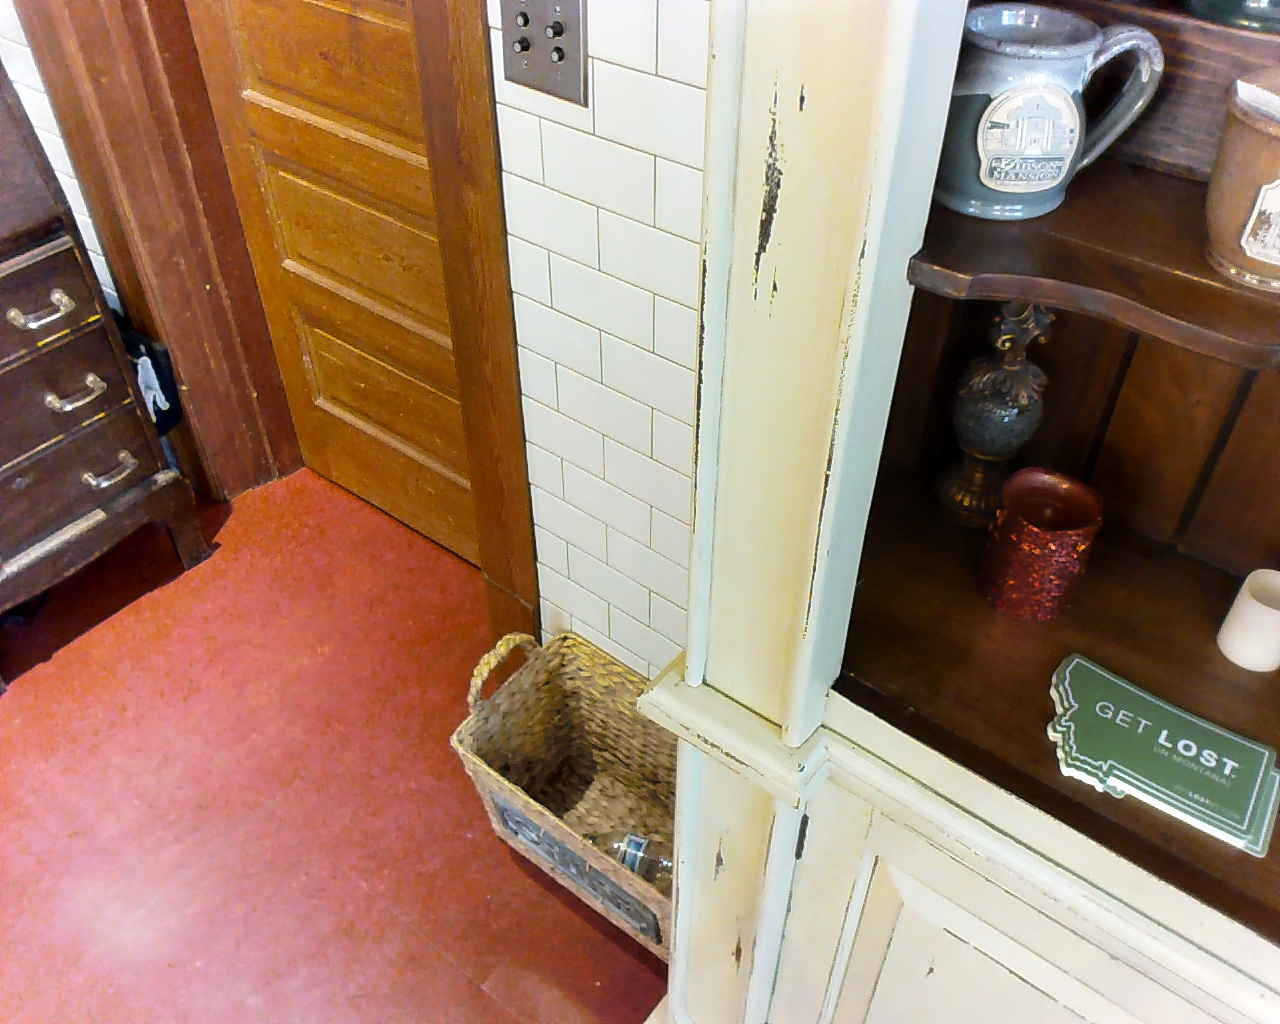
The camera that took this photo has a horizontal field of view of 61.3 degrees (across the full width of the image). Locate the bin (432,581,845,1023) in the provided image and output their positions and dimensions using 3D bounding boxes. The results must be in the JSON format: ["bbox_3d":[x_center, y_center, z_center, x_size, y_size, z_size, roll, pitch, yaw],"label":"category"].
[{"bbox_3d":[-0.010,0.410,1.570,0.500,0.360,0.260,28,49,26],"label":"bin"}]
